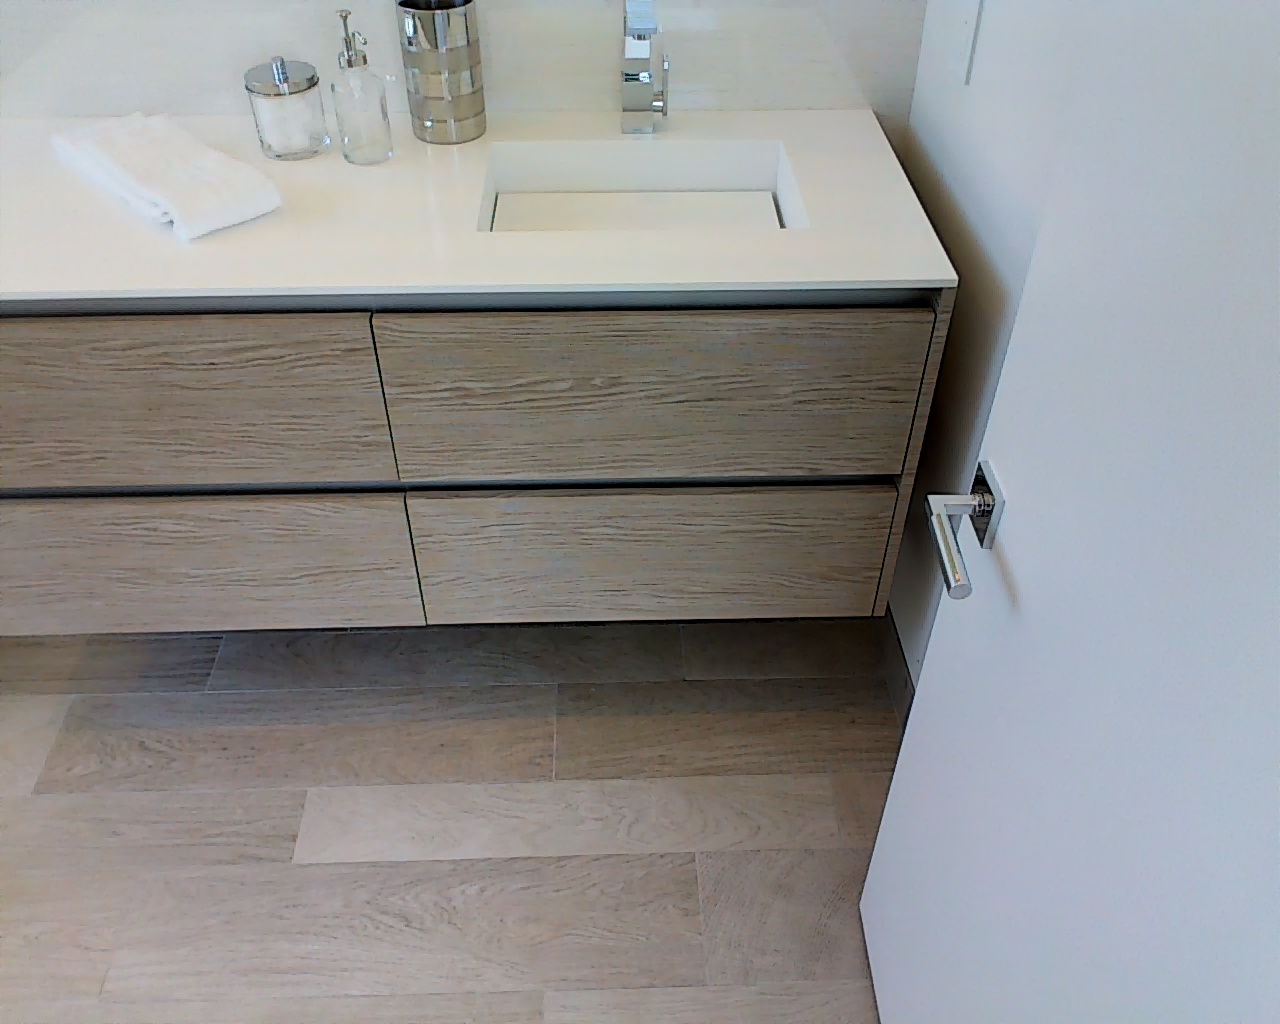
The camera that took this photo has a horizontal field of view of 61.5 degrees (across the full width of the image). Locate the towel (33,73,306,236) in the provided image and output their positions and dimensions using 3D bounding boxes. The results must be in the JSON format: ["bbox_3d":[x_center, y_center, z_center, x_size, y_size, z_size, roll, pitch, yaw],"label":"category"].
[{"bbox_3d":[-0.690,-0.530,1.560,0.450,0.060,0.170,33,51,32],"label":"towel"}]

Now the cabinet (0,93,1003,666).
[{"bbox_3d":[-0.360,-0.220,1.780,1.610,0.710,0.590,-1,41,-1],"label":"cabinet"}]
